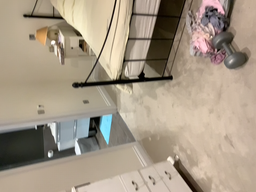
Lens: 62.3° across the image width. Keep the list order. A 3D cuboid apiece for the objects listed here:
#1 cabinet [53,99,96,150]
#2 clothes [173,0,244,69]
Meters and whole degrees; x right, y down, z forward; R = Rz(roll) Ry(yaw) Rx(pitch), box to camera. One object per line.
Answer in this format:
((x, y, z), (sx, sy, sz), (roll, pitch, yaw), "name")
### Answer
((-1.130, 0.570, 4.380), (0.540, 0.720, 0.770), (51, 138, 48), "cabinet")
((0.570, -0.530, 1.580), (0.350, 0.140, 0.540), (53, 140, 45), "clothes")
